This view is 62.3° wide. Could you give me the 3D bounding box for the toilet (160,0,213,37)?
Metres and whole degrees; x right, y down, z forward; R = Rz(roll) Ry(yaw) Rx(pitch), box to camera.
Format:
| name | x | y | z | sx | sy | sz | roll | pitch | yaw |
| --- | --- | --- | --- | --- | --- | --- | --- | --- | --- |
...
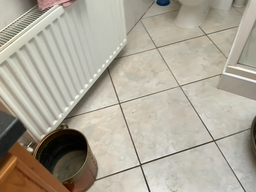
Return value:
| name | x | y | z | sx | sy | sz | roll | pitch | yaw |
| --- | --- | --- | --- | --- | --- | --- | --- | --- | --- |
| toilet | 0.540 | -0.880 | 1.840 | 0.340 | 0.440 | 0.500 | 20 | 57 | 18 |
